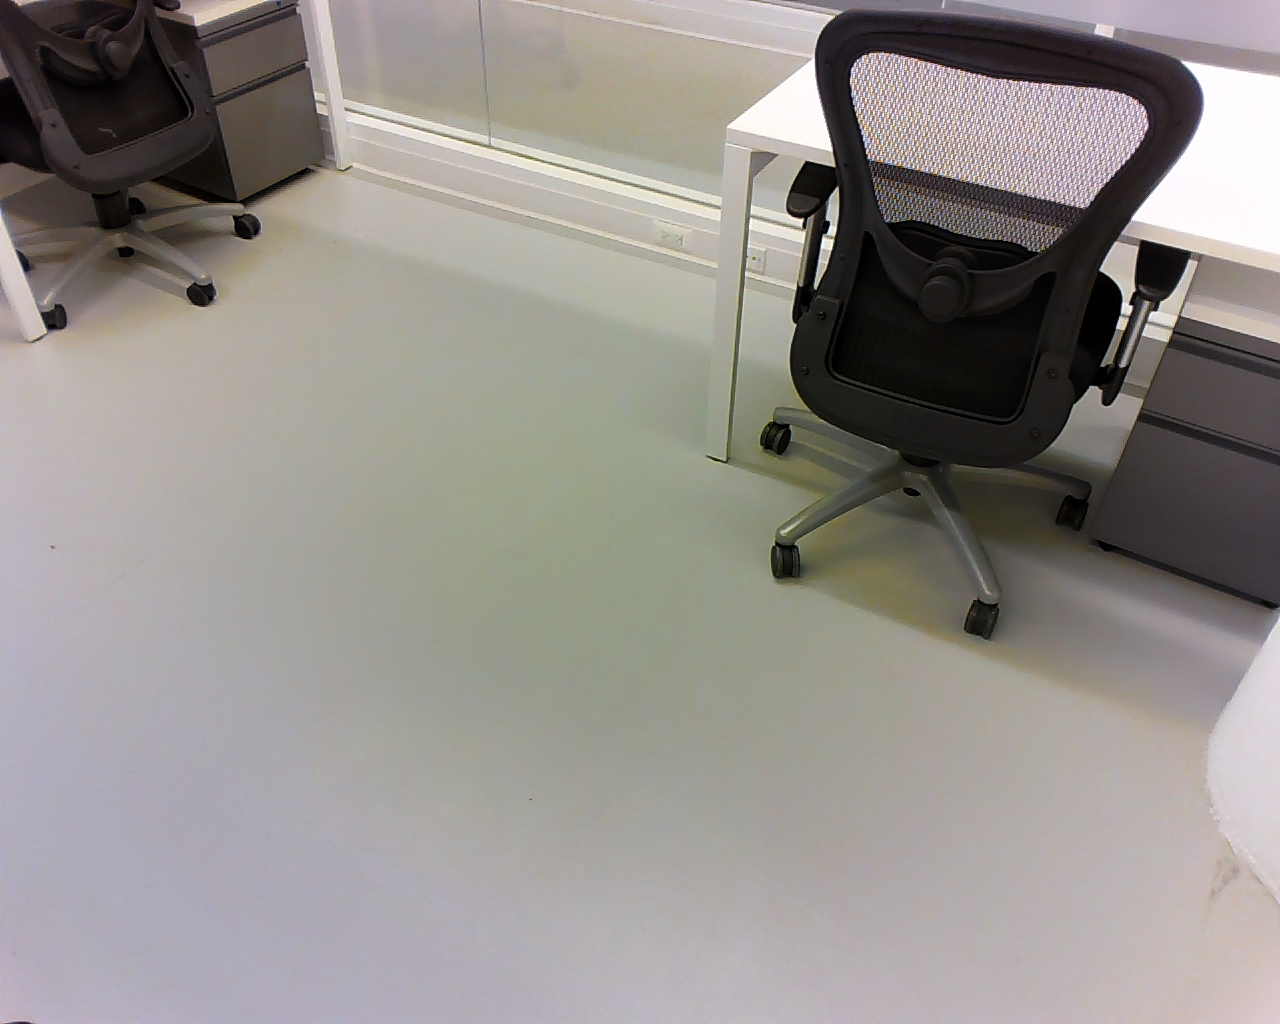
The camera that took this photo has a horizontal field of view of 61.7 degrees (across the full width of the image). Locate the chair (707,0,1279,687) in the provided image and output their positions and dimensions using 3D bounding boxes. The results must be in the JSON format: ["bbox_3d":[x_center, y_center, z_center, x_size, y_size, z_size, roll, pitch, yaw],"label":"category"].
[{"bbox_3d":[0.600,-0.400,1.880,0.660,1.050,0.710,21,46,21],"label":"chair"}]

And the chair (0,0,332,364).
[{"bbox_3d":[-1.350,-1.060,2.610,0.670,1.020,0.730,21,46,21],"label":"chair"}]
